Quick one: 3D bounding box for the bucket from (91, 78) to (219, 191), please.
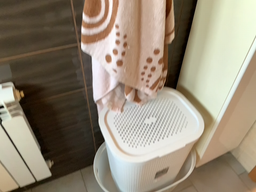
[{"bbox_3d":[0.100,0.290,1.160,0.470,0.610,0.340,-14,47,-15],"label":"bucket"}]
